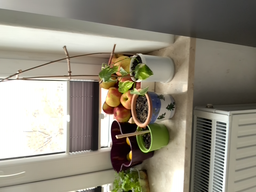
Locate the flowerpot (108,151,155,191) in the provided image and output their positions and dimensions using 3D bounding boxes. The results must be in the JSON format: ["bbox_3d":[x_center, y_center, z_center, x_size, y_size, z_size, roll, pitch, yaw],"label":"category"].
[{"bbox_3d":[0.010,0.410,1.030,0.190,0.140,0.210,18,106,61],"label":"flowerpot"}]
